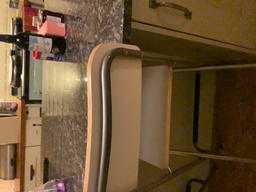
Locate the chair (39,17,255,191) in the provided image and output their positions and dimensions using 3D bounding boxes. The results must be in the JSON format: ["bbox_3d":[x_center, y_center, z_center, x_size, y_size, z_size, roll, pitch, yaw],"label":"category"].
[{"bbox_3d":[0.240,0.050,0.870,0.440,1.040,0.410,7,95,56],"label":"chair"}]
